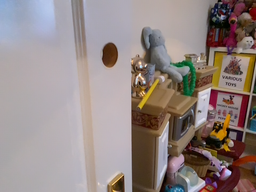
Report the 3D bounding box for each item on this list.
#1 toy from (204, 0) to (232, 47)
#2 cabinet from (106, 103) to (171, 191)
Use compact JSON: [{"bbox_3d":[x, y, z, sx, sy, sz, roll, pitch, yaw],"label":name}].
[{"bbox_3d":[0.810,-0.660,1.910,0.130,0.390,0.310,11,22,32],"label":"toy"},{"bbox_3d":[0.050,0.210,0.840,0.190,0.290,0.210,6,19,18],"label":"cabinet"}]
